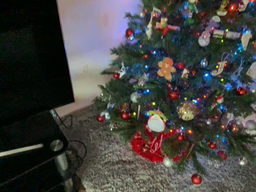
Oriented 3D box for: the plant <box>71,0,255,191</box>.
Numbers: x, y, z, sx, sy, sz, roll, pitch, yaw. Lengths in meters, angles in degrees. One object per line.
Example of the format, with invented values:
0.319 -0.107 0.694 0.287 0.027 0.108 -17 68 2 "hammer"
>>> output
0.390 -0.350 1.000 0.950 1.670 1.000 -24 52 -27 "plant"
